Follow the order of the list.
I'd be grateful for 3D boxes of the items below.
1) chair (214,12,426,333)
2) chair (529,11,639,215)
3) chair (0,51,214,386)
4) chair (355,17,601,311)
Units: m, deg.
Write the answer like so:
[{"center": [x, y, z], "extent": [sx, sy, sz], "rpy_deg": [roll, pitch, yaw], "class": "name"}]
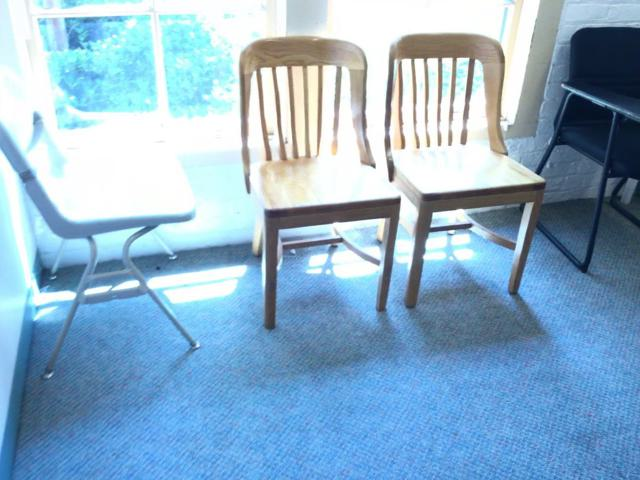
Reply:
[{"center": [-0.050, -0.280, 2.050], "extent": [0.500, 0.880, 0.720], "rpy_deg": [-7, 31, -14], "class": "chair"}, {"center": [1.240, -0.510, 2.170], "extent": [0.530, 0.570, 0.590], "rpy_deg": [-7, 31, -14], "class": "chair"}, {"center": [-0.660, -0.100, 1.810], "extent": [0.520, 0.810, 0.600], "rpy_deg": [-7, 31, -14], "class": "chair"}, {"center": [0.490, -0.300, 2.100], "extent": [0.530, 0.860, 0.590], "rpy_deg": [-7, 31, -14], "class": "chair"}]
